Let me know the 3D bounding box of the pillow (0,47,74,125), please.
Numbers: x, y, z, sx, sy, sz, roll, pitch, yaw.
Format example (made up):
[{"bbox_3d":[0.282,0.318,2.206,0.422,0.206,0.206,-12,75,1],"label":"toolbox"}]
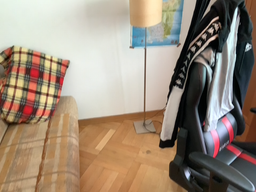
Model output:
[{"bbox_3d":[-0.830,-0.110,1.940,0.580,0.570,0.360,-5,28,-11],"label":"pillow"}]
